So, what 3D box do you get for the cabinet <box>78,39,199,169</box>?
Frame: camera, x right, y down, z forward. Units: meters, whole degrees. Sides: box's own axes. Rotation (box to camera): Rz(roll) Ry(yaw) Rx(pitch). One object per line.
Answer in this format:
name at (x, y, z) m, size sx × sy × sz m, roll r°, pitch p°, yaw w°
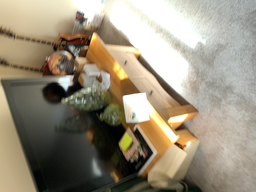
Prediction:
cabinet at (0.020, 0.030, 1.790) m, size 0.830 × 0.430 × 0.600 m, roll 52°, pitch 130°, yaw 31°
